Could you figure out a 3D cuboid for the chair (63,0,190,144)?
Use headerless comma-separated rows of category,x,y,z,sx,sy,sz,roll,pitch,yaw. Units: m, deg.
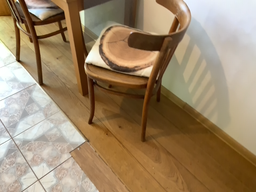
chair,0.010,-0.160,1.210,0.470,0.750,0.460,11,49,5

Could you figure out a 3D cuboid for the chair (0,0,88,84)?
chair,-0.620,-0.570,1.490,0.460,0.770,0.420,-33,60,-28
